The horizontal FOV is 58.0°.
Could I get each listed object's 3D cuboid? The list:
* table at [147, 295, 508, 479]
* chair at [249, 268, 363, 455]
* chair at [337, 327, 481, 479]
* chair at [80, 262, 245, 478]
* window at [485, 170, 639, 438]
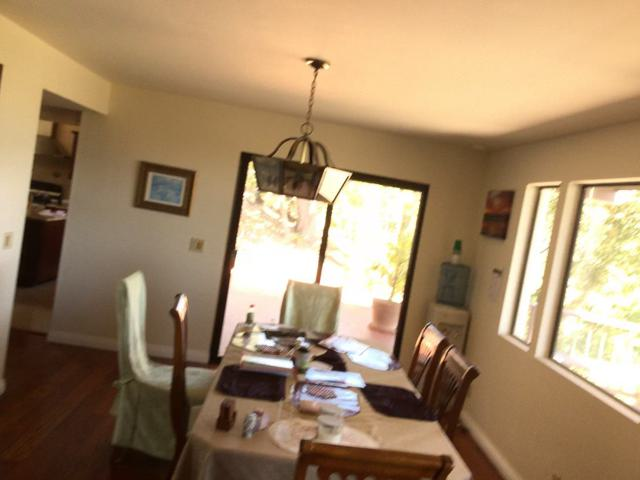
[{"bbox_3d":[-0.080,1.020,3.070,1.210,0.900,2.160,10,4,-4],"label":"table"},{"bbox_3d":[-0.110,0.820,4.110,0.560,1.090,0.650,10,4,-4],"label":"chair"},{"bbox_3d":[0.380,1.020,2.800,0.450,1.040,0.490,10,4,-4],"label":"chair"},{"bbox_3d":[-0.910,0.740,3.480,0.700,1.050,0.580,10,4,-4],"label":"chair"},{"bbox_3d":[1.600,0.240,3.250,0.290,1.200,2.450,10,4,-4],"label":"window"}]
